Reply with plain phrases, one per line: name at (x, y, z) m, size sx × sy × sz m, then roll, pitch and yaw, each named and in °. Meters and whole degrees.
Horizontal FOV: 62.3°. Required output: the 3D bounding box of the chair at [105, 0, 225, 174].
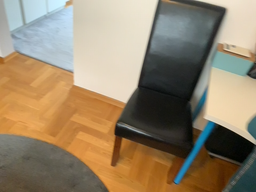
chair at (0.200, -0.030, 1.480) m, size 0.450 × 1.050 × 0.540 m, roll 19°, pitch 41°, yaw 7°

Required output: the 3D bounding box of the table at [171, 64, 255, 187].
table at (0.670, 0.230, 1.570) m, size 0.440 × 0.710 × 0.430 m, roll 19°, pitch 41°, yaw 8°
